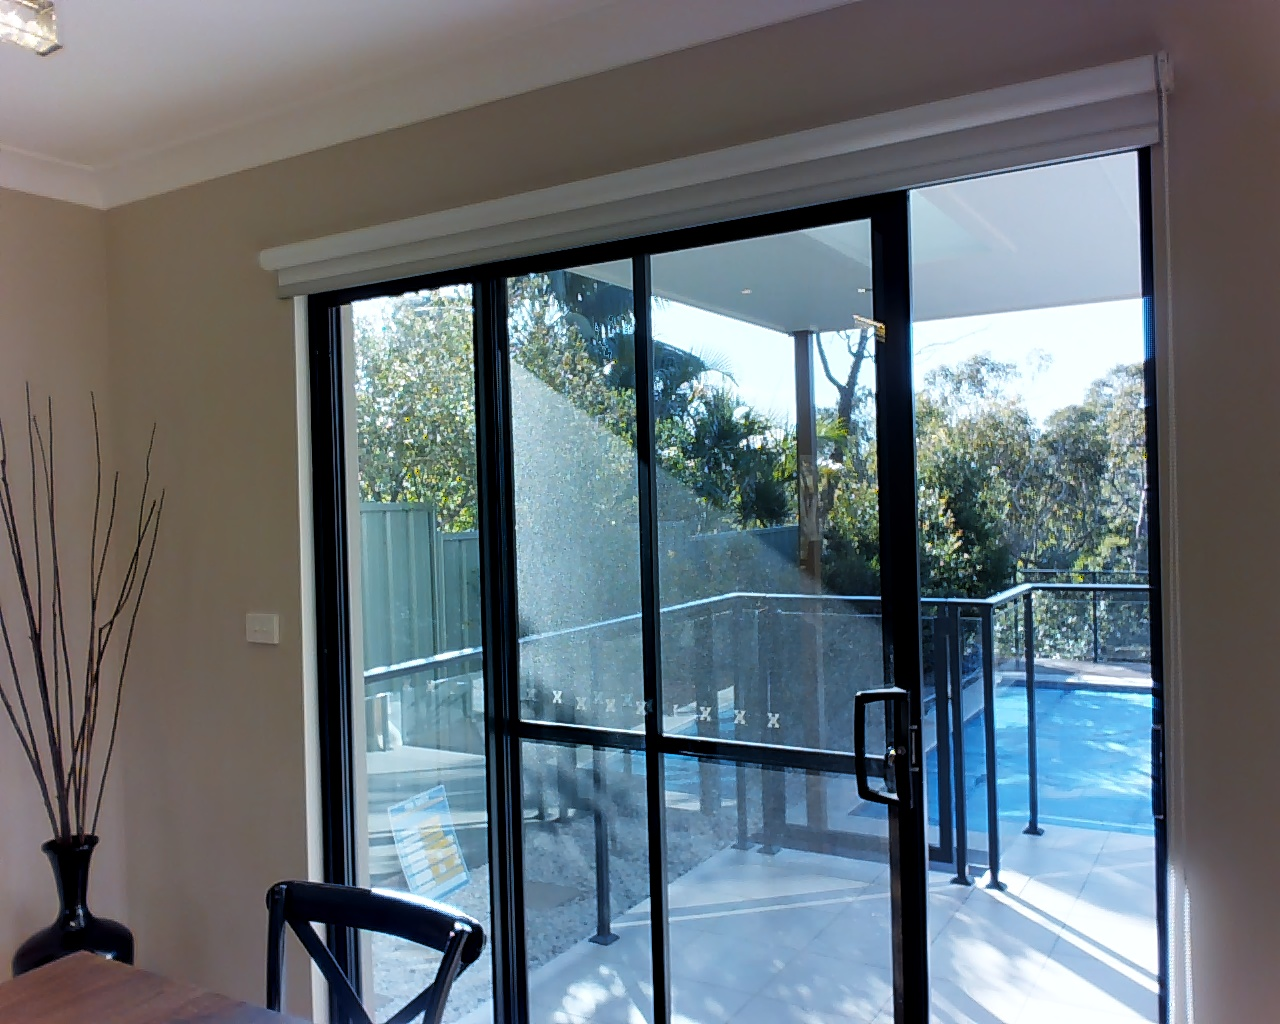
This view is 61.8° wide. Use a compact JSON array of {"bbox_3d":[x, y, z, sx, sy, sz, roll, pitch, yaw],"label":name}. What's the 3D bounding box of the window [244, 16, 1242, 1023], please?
[{"bbox_3d":[0.010,0.400,2.200,2.120,2.221,0.180,-1,0,31],"label":"window"}]
